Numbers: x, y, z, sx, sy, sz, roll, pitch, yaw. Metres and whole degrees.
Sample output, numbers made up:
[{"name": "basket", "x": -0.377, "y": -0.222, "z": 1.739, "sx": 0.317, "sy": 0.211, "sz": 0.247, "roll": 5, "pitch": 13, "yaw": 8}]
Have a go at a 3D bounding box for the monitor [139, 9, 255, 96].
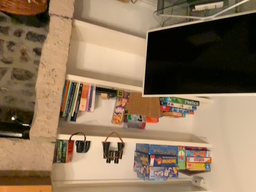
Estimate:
[{"name": "monitor", "x": 0.510, "y": -0.260, "z": 1.420, "sx": 0.910, "sy": 0.500, "sz": 0.080, "roll": -1, "pitch": 170, "yaw": 31}]
